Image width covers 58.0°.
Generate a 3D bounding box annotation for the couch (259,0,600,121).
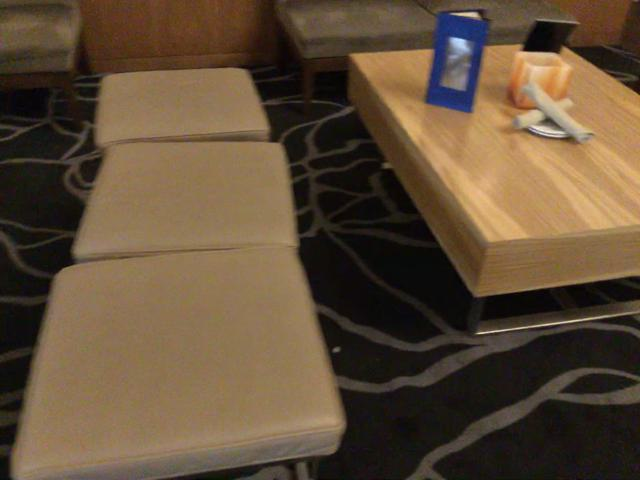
[{"bbox_3d":[0.500,-1.240,2.960,1.520,0.820,0.820,-8,39,-11],"label":"couch"}]
